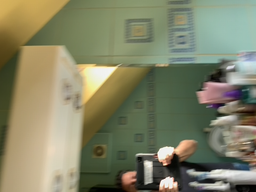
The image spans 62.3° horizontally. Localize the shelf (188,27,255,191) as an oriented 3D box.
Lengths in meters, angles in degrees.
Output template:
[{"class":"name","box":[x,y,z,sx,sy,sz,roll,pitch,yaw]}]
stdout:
[{"class":"shelf","box":[0.370,0.080,0.630,0.180,0.310,0.530,77,-167,-75]}]
